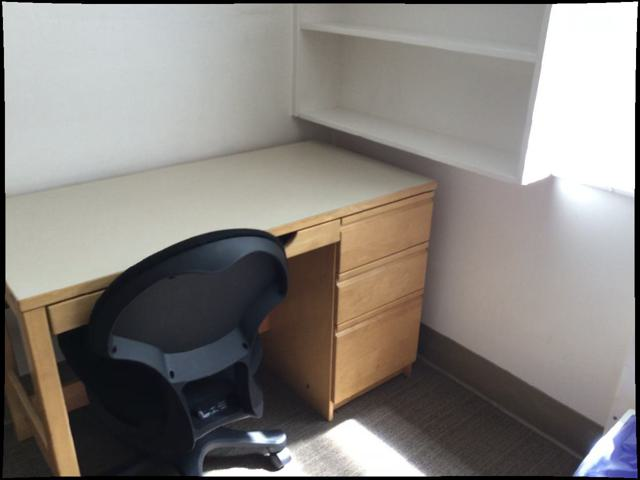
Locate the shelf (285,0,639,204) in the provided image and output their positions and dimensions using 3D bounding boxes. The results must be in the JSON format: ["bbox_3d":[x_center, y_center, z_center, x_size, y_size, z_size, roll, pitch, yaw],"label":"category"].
[{"bbox_3d":[0.360,-1.041,1.590,0.370,1.591,1.060,-18,32,-35],"label":"shelf"}]

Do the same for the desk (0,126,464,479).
[{"bbox_3d":[-0.270,0.170,1.850,1.309,0.741,0.670,-18,32,-35],"label":"desk"}]
